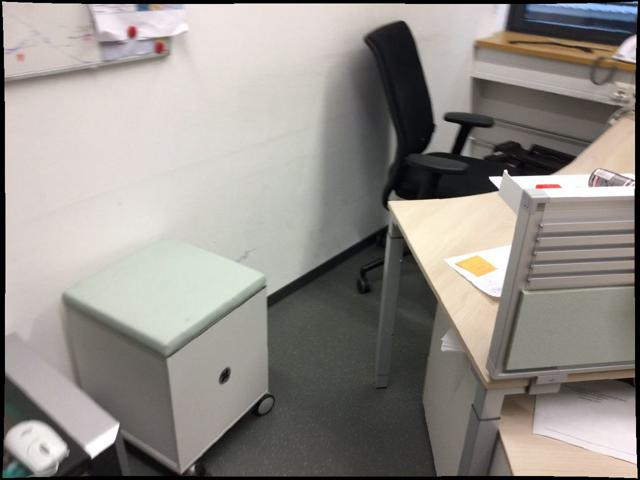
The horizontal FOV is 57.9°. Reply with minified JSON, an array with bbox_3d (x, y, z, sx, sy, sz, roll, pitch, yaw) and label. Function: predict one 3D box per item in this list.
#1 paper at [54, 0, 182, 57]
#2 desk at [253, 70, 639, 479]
[{"bbox_3d":[-0.529,-0.631,1.530,0.090,0.220,0.310,24,38,34],"label":"paper"},{"bbox_3d":[1.039,0.140,1.940,1.239,0.791,2.229,24,38,34],"label":"desk"}]
